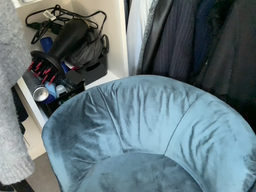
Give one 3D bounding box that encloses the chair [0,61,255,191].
[{"bbox_3d":[0.050,0.320,0.750,0.550,0.660,0.520,6,45,9],"label":"chair"}]
